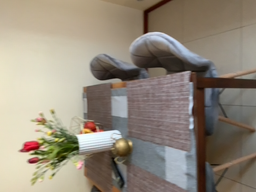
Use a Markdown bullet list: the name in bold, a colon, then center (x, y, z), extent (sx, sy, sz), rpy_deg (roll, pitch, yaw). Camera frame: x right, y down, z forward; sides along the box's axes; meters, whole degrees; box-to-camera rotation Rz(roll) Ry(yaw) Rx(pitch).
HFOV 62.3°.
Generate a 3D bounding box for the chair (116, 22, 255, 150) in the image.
- **chair**: center (0.360, -0.050, 1.230), extent (0.470, 0.710, 0.510), rpy_deg (4, 94, 58)

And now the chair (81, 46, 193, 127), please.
- **chair**: center (0.060, -0.040, 1.710), extent (0.480, 0.710, 0.480), rpy_deg (-21, 73, 56)
